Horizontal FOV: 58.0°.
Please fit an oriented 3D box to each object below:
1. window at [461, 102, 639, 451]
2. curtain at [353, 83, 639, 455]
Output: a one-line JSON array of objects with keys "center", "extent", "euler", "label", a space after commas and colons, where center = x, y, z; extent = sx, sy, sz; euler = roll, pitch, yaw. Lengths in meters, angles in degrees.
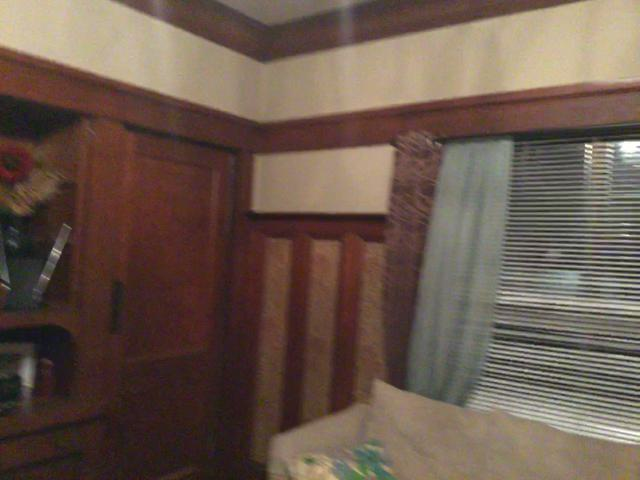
[{"center": [1.100, 0.120, 2.220], "extent": [1.070, 1.260, 0.130], "euler": [1, -5, 41], "label": "window"}, {"center": [0.960, 0.090, 2.250], "extent": [1.800, 1.270, 0.240], "euler": [1, -5, 41], "label": "curtain"}]
